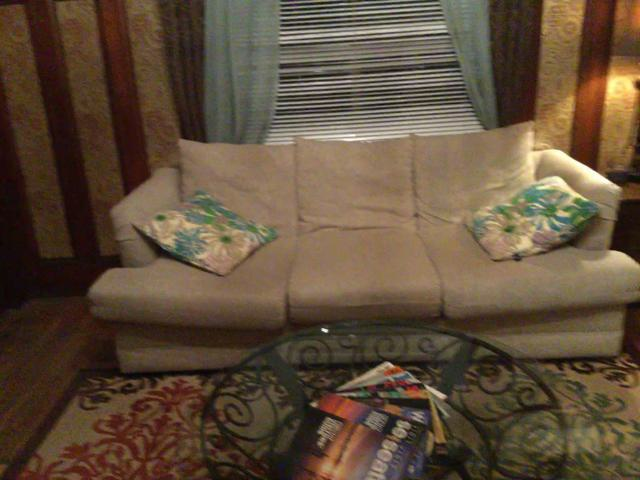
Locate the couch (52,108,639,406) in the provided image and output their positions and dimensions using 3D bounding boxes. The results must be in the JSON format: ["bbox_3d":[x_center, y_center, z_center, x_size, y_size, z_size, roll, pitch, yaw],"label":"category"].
[{"bbox_3d":[0.130,0.000,2.570,2.040,0.940,0.990,-3,17,2],"label":"couch"}]

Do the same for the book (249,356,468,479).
[{"bbox_3d":[0.110,0.440,1.370,0.320,0.060,0.470,8,20,34],"label":"book"}]
